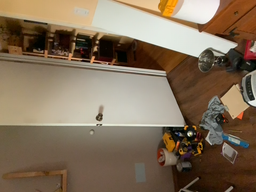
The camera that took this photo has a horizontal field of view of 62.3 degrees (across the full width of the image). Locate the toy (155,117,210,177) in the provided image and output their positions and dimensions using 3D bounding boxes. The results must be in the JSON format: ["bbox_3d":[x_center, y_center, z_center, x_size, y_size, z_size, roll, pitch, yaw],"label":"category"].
[{"bbox_3d":[0.550,0.570,2.310,0.650,0.160,0.460,124,143,-54],"label":"toy"}]

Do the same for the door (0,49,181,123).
[{"bbox_3d":[-0.420,-0.100,2.300,0.040,1.960,0.890,114,151,-44],"label":"door"}]
